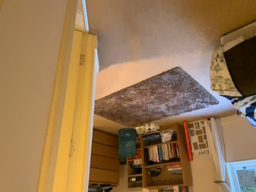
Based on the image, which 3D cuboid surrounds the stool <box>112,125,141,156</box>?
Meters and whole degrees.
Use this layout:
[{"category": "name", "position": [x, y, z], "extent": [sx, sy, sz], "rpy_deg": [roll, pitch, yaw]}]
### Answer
[{"category": "stool", "position": [-0.030, 0.890, 4.230], "extent": [0.420, 0.490, 0.360], "rpy_deg": [-20, 148, 35]}]
